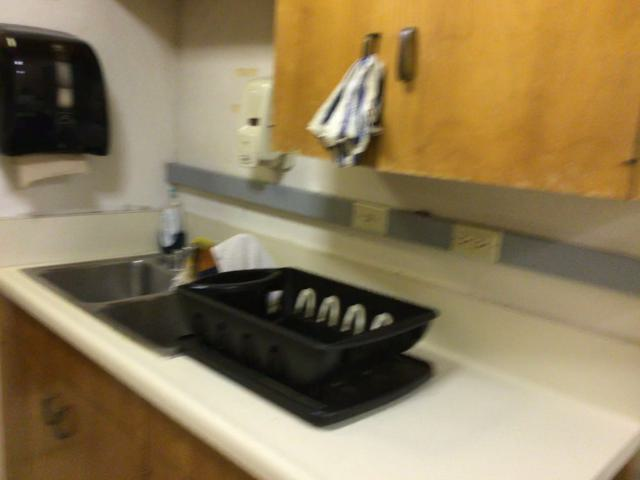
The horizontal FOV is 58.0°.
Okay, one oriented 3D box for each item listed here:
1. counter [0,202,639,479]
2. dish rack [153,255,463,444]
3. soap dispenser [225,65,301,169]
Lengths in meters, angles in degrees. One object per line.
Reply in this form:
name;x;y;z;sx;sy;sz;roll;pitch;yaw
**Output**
counter;-0.200;0.170;1.420;1.690;0.260;0.680;14;16;42
dish rack;-0.040;0.190;1.270;0.540;0.160;0.410;14;16;42
soap dispenser;-0.170;-0.360;1.700;0.170;0.280;0.130;14;16;42
